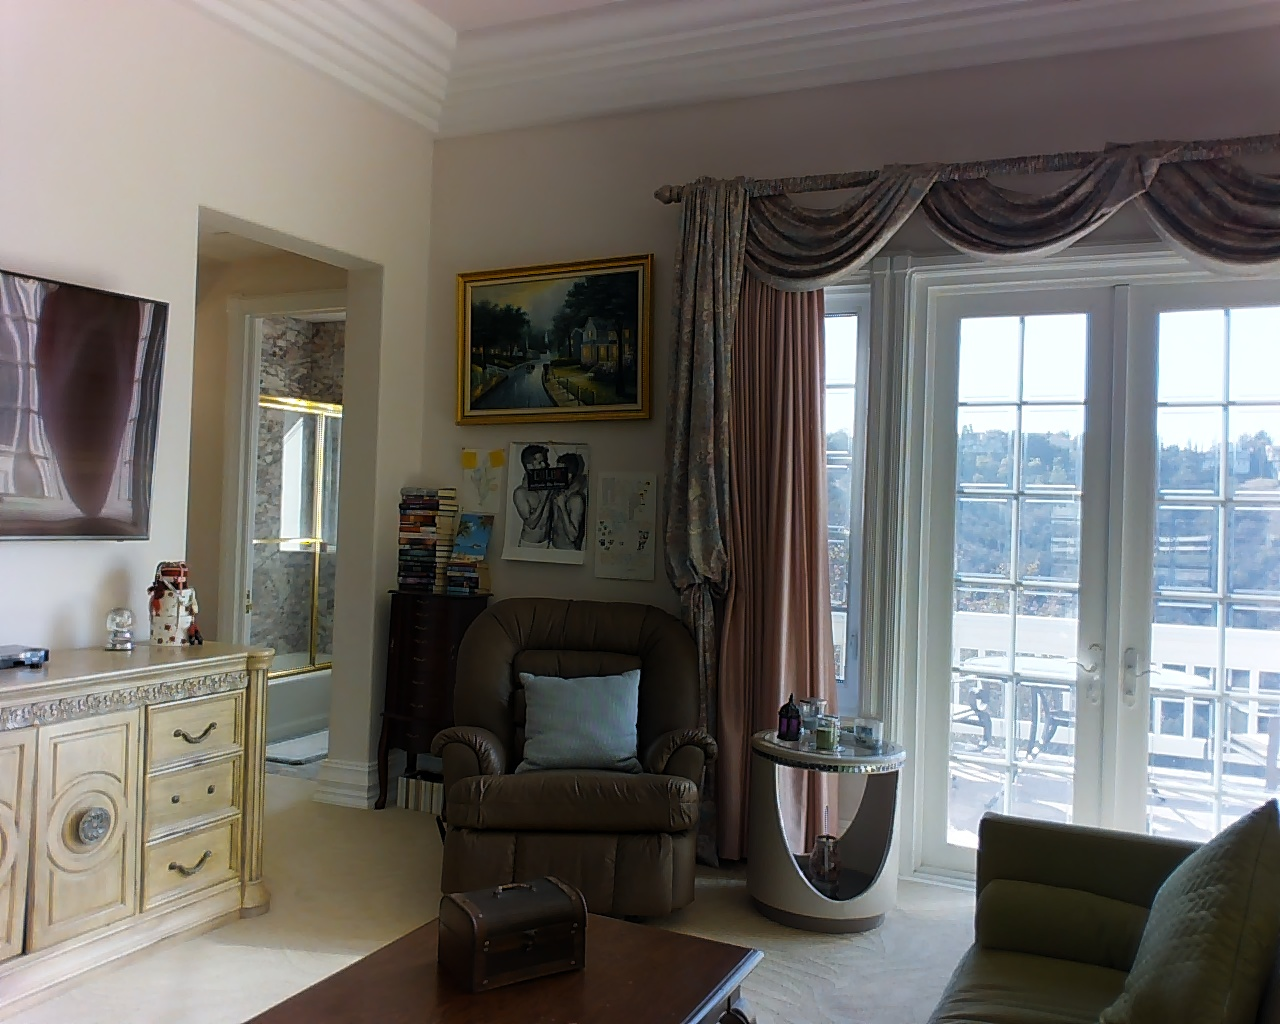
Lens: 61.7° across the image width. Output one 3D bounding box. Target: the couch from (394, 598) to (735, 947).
[{"bbox_3d":[-0.240,0.900,4.140,1.100,1.020,1.300,1,0,1],"label":"couch"}]
